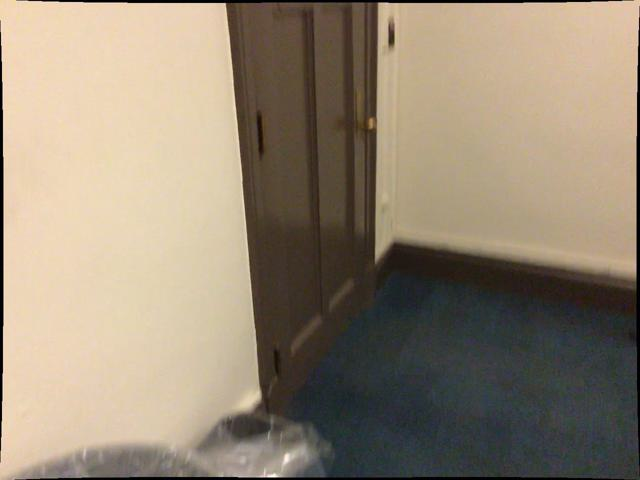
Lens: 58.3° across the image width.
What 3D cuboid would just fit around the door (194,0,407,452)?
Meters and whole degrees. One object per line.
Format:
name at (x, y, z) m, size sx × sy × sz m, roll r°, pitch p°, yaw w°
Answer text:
door at (0.050, -0.611, 2.110) m, size 0.120 × 2.252 × 1.490 m, roll 9°, pitch 26°, yaw 22°
